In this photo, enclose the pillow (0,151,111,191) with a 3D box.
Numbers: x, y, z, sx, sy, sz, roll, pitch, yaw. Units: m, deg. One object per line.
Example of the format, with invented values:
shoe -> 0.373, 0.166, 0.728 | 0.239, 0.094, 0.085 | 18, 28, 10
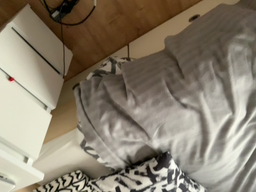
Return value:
pillow -> -0.340, 0.460, 1.030 | 0.350, 0.070, 0.450 | -22, 129, 17
